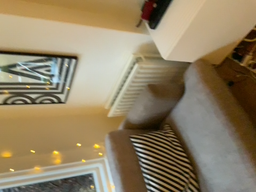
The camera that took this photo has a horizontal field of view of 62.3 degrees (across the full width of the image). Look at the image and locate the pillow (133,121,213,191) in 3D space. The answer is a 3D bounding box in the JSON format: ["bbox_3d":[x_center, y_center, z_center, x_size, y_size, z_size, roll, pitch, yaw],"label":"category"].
[{"bbox_3d":[0.270,0.440,1.400,0.130,0.310,0.480,94,156,-53],"label":"pillow"}]
